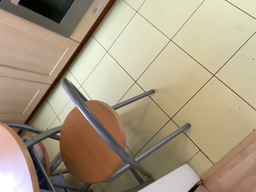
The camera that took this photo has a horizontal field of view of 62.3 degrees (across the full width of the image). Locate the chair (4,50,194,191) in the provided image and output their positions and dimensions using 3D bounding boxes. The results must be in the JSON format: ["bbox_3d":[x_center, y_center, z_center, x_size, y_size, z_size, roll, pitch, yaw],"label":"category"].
[{"bbox_3d":[-0.060,0.160,0.990,0.410,0.710,0.380,-49,64,16],"label":"chair"}]

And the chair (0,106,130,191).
[{"bbox_3d":[-0.430,0.380,1.170,0.410,0.710,0.460,-49,64,16],"label":"chair"}]
